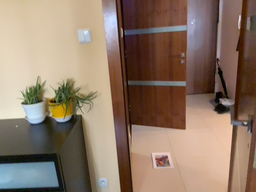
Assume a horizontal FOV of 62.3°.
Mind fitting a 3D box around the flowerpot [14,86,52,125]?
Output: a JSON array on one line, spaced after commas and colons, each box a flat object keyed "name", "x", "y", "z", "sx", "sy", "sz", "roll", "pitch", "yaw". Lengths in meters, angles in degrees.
[{"name": "flowerpot", "x": -0.610, "y": 0.060, "z": 1.380, "sx": 0.140, "sy": 0.210, "sz": 0.140, "roll": -3, "pitch": 17, "yaw": 3}]

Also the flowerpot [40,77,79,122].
[{"name": "flowerpot", "x": -0.430, "y": 0.020, "z": 1.360, "sx": 0.170, "sy": 0.250, "sz": 0.140, "roll": -3, "pitch": 17, "yaw": 3}]
